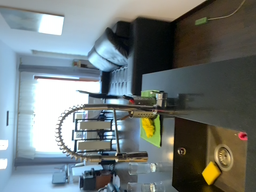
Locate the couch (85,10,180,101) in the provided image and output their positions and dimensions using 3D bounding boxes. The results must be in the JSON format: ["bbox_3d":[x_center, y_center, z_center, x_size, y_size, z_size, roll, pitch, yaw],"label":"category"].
[{"bbox_3d":[-0.160,-0.540,3.830,2.480,0.900,1.040,-170,84,-72],"label":"couch"}]

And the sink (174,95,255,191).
[{"bbox_3d":[0.390,0.230,0.830,0.410,0.210,0.440,-172,85,-72],"label":"sink"}]
